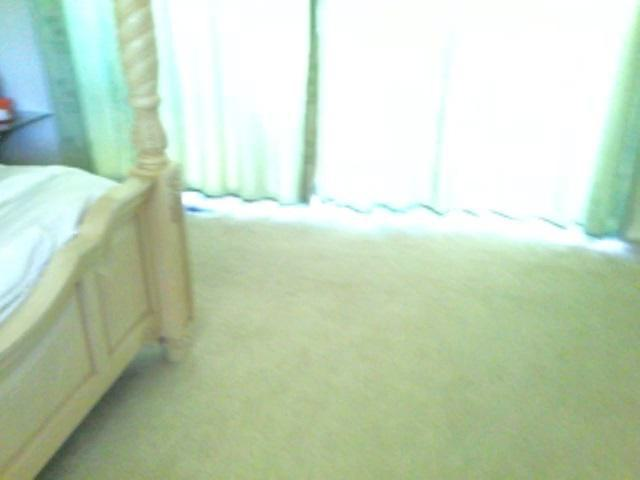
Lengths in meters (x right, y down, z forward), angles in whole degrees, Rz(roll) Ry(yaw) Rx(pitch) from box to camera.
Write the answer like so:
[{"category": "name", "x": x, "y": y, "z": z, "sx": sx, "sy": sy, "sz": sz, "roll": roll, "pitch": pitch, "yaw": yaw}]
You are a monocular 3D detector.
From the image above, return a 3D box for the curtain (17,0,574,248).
[{"category": "curtain", "x": -0.220, "y": -0.770, "z": 3.040, "sx": 2.720, "sy": 1.380, "sz": 0.270, "roll": 5, "pitch": 25, "yaw": 11}]
